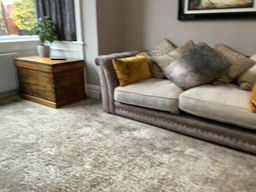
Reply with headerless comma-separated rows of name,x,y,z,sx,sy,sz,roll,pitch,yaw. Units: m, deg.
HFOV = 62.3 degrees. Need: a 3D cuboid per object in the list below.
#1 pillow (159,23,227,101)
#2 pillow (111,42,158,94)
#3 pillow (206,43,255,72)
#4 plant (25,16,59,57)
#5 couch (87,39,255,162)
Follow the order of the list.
pillow,0.700,-0.360,2.330,0.200,0.640,0.640,38,-36,-1
pillow,0.100,-0.320,2.530,0.220,0.350,0.570,10,-19,35
pillow,1.160,-0.420,2.280,0.510,0.170,0.380,-5,16,36
plant,-1.290,-0.900,3.200,0.350,0.550,0.260,12,21,31
couch,0.720,-0.140,2.340,2.120,0.830,1.060,13,22,32
